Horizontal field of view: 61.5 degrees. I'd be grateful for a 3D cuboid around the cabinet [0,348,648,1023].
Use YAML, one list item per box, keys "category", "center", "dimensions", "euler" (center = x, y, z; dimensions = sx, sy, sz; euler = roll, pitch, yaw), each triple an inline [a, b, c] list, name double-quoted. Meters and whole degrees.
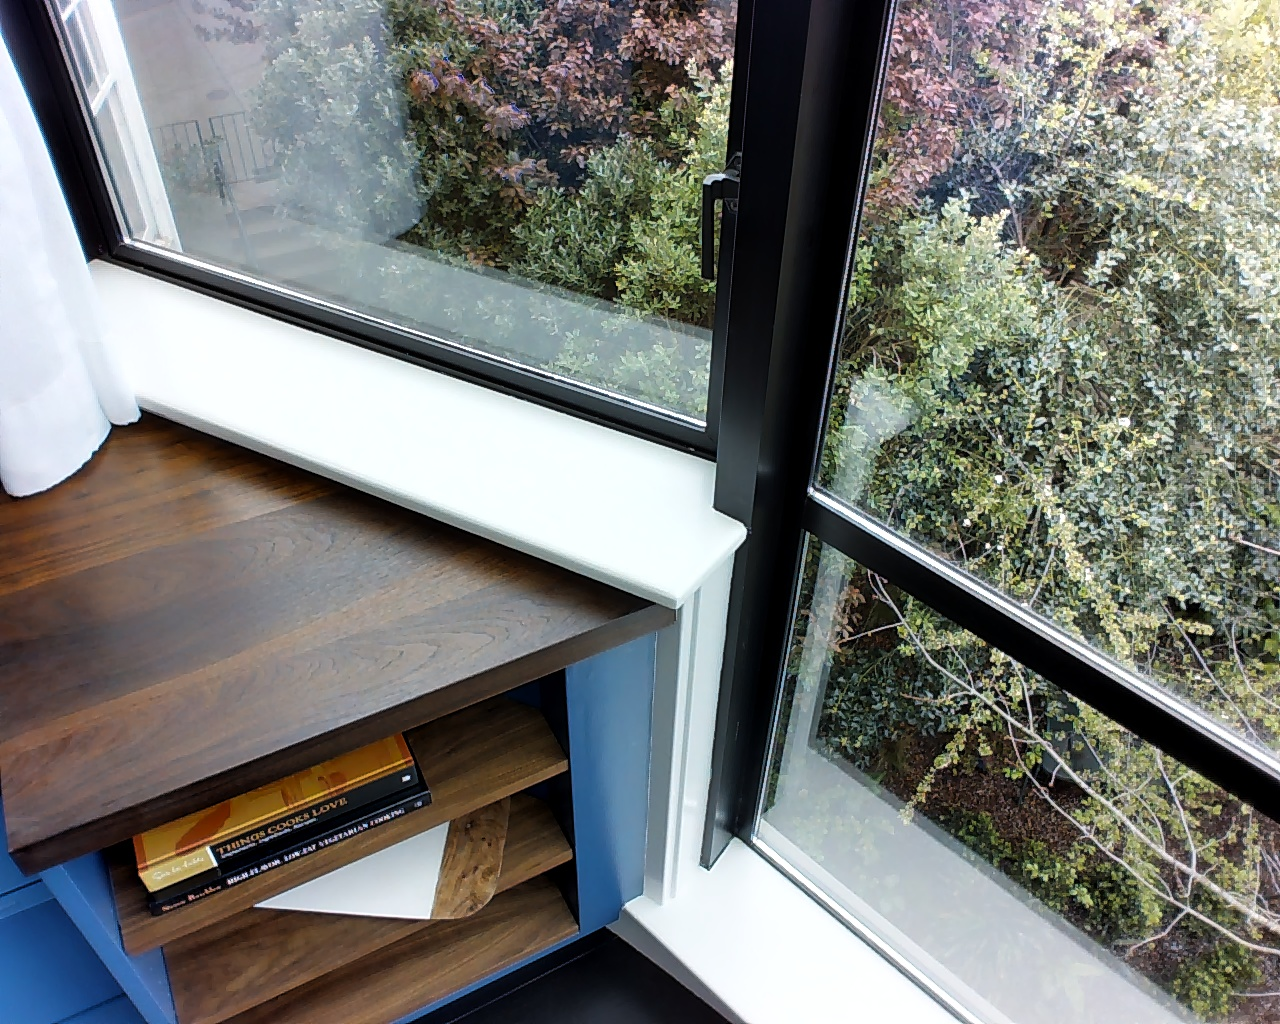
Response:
- category: "cabinet"
  center: [-0.360, 0.320, 1.360]
  dimensions: [0.540, 0.780, 0.520]
  euler: [-20, 46, -21]
